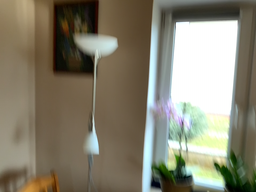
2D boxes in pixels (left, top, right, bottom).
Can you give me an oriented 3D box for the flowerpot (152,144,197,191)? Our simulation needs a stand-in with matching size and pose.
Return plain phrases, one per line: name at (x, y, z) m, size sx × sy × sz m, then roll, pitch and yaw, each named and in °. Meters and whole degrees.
flowerpot at (0.330, 0.560, 1.510) m, size 0.270 × 0.360 × 0.150 m, roll 5°, pitch 6°, yaw 21°
